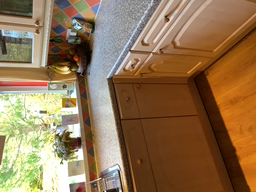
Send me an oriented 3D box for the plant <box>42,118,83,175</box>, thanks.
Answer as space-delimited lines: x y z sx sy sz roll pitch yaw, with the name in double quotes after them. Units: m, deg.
-0.620 0.460 1.960 0.280 0.300 0.420 129 133 -53 "plant"
